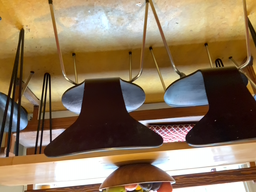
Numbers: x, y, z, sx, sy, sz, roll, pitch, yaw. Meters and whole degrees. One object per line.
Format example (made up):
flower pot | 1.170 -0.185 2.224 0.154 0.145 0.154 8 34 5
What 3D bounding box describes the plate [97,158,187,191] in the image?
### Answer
plate | 0.050 0.420 0.960 0.340 0.180 0.310 -5 153 -4
